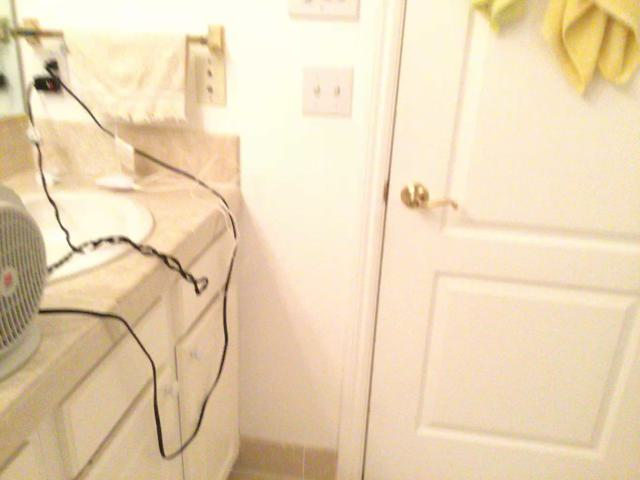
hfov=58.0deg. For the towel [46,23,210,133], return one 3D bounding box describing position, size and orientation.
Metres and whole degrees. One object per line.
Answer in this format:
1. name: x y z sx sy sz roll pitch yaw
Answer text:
1. towel: -0.430 -0.370 1.320 0.320 0.230 0.090 3 22 9
